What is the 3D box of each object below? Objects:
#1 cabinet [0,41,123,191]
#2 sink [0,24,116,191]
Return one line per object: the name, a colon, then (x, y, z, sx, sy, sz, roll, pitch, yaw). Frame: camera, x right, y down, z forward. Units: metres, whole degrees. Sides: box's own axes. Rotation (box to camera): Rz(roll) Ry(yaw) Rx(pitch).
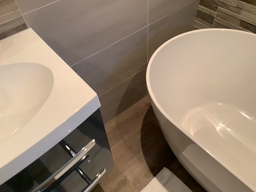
cabinet: (-0.430, 0.210, 0.740, 0.630, 0.400, 0.480, -34, 55, -22)
sink: (-0.440, 0.070, 0.580, 0.640, 0.110, 0.490, -34, 55, -22)
